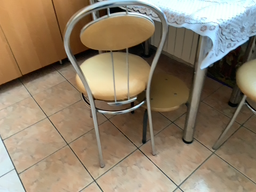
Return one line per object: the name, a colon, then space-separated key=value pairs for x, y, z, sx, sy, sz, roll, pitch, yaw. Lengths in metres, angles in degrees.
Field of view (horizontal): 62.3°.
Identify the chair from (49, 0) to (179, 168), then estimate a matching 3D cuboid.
chair: x=-0.070 y=-0.090 z=1.070 sx=0.400 sy=0.820 sz=0.430 roll=-11 pitch=42 yaw=-9
